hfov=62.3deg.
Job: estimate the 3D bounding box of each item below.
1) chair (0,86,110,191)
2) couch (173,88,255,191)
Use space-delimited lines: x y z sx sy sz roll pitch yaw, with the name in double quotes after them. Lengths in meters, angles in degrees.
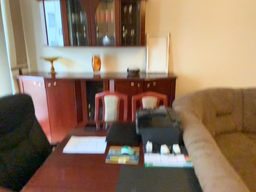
-0.600 0.570 1.470 0.740 1.130 0.600 6 17 21 "chair"
1.040 0.440 2.380 0.750 0.860 0.670 14 21 42 "couch"
